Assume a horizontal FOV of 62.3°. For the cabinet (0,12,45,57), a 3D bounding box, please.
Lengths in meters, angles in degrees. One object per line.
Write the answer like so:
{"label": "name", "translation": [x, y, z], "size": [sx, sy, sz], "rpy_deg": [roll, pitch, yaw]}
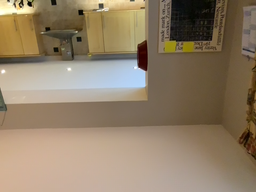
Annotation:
{"label": "cabinet", "translation": [-2.290, -1.190, 4.120], "size": [1.100, 0.800, 0.280], "rpy_deg": [-1, -158, 1]}

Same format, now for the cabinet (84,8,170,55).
{"label": "cabinet", "translation": [-0.010, -1.230, 4.060], "size": [1.520, 0.800, 0.350], "rpy_deg": [-1, -158, 1]}
